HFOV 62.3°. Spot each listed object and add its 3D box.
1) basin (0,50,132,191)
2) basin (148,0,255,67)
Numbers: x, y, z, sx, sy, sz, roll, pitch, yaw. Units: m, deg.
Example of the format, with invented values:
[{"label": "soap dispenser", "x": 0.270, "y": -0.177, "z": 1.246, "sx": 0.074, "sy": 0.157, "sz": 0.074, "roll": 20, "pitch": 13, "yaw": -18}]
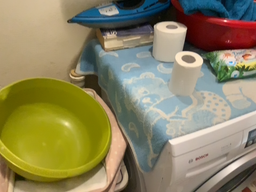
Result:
[{"label": "basin", "x": -0.240, "y": 0.090, "z": 0.670, "sx": 0.320, "sy": 0.230, "sz": 0.410, "roll": -21, "pitch": 49, "yaw": -24}, {"label": "basin", "x": 0.370, "y": -0.310, "z": 0.800, "sx": 0.440, "sy": 0.100, "sz": 0.380, "roll": -20, "pitch": 49, "yaw": -23}]
